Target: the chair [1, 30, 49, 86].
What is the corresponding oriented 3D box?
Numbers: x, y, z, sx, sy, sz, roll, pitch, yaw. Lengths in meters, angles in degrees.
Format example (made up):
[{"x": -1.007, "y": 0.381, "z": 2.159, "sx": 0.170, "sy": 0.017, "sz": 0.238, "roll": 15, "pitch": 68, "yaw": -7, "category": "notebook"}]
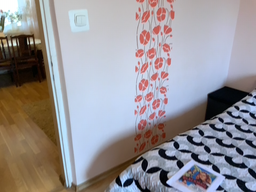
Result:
[{"x": -1.990, "y": -0.760, "z": 4.130, "sx": 0.560, "sy": 0.910, "sz": 0.630, "roll": -17, "pitch": 29, "yaw": -36, "category": "chair"}]
